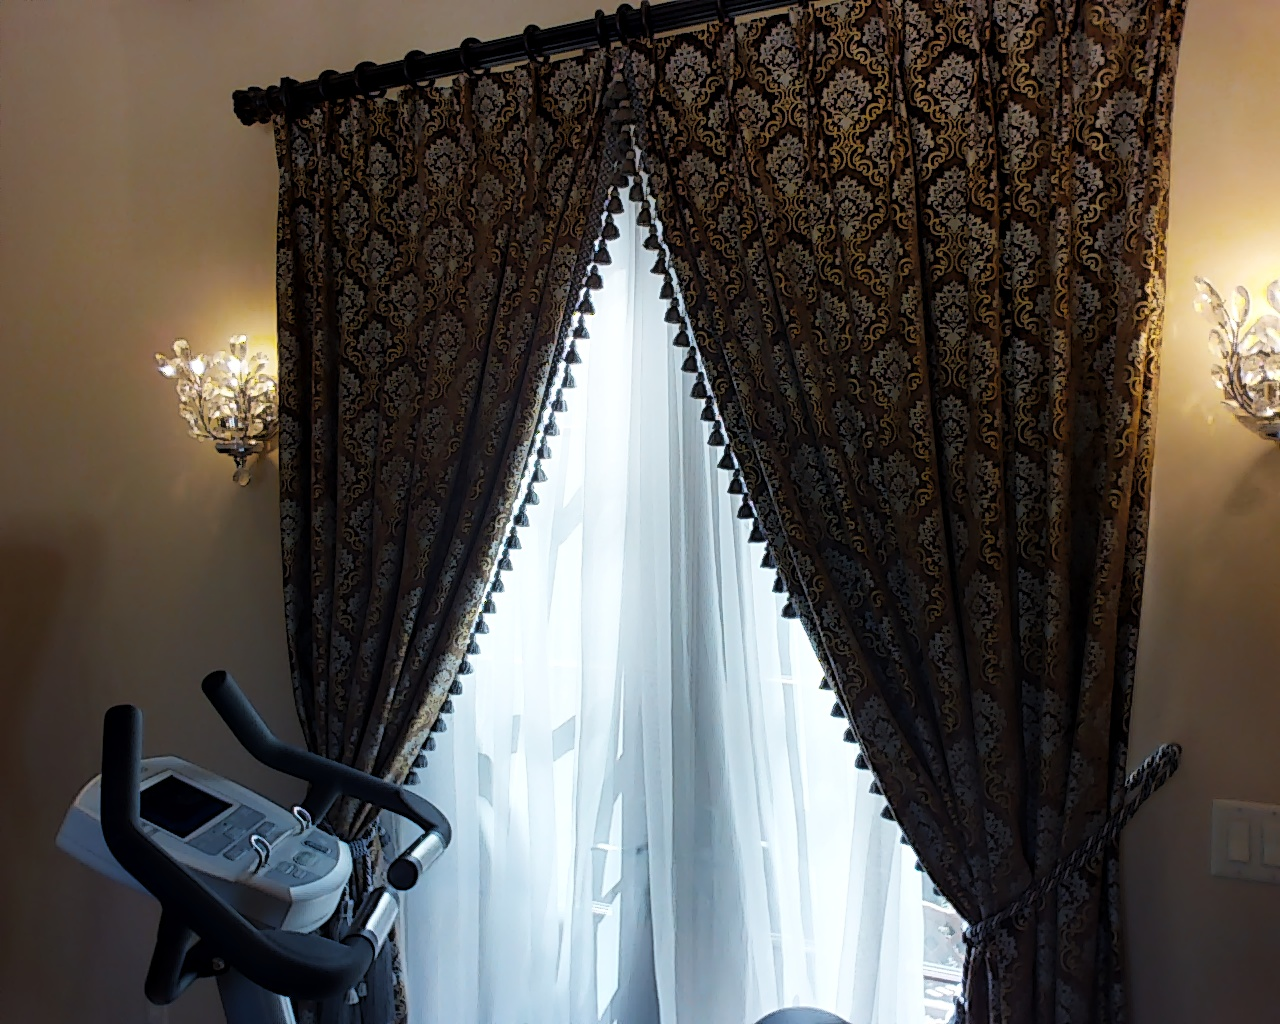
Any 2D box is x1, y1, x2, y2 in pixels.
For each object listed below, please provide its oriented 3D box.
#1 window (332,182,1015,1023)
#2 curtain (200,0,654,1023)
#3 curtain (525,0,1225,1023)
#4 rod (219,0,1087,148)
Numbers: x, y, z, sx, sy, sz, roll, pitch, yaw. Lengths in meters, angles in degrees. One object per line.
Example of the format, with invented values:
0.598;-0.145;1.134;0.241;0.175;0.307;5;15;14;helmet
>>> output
0.000;0.540;2.020;1.270;2.100;0.250;1;0;27;window
-0.460;0.330;2.190;0.900;2.510;0.270;1;0;27;curtain
0.340;0.330;1.820;1.100;2.500;0.220;1;0;27;curtain
0.010;-0.910;2.000;2.060;0.140;0.150;1;0;27;rod
